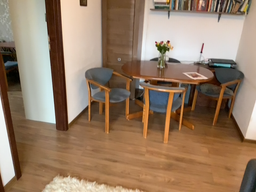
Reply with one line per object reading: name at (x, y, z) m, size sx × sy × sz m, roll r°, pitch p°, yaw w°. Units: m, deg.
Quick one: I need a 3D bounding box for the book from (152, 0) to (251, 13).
book at (1.110, -1.450, 3.340) m, size 1.440 × 0.190 × 0.200 m, roll 8°, pitch 23°, yaw 11°

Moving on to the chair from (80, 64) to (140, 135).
chair at (-0.260, 0.010, 2.970) m, size 0.570 × 0.740 × 0.560 m, roll -18°, pitch 30°, yaw -42°

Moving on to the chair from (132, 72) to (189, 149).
chair at (0.410, 0.160, 2.700) m, size 0.570 × 0.740 × 0.560 m, roll 7°, pitch 22°, yaw 9°

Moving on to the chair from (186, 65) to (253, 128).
chair at (1.370, -0.030, 3.290) m, size 0.560 × 0.750 × 0.610 m, roll -6°, pitch 24°, yaw -22°
